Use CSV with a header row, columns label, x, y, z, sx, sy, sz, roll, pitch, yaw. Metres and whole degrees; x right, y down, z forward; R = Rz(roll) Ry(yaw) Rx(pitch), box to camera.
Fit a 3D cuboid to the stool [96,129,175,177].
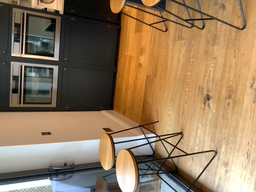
label,x,y,z,sx,sy,sz,roll,pitch,yaw
stool,0.080,0.530,2.100,0.290,0.710,0.320,15,101,61
